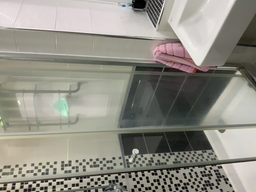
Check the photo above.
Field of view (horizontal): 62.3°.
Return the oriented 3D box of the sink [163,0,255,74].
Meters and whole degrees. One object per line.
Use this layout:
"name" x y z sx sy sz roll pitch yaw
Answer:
"sink" 0.420 -0.490 0.980 0.610 0.200 0.470 107 157 -44
